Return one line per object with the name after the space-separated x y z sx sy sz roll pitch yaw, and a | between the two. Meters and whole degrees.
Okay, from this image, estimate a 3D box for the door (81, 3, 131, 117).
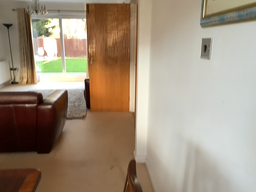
-0.380 -0.590 3.920 0.850 2.060 0.080 0 15 -2 | door

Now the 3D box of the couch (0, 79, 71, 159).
-1.770 0.240 2.800 1.800 0.770 0.950 -1 15 -5 | couch
